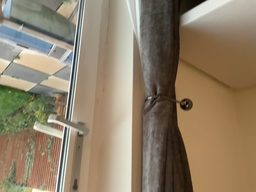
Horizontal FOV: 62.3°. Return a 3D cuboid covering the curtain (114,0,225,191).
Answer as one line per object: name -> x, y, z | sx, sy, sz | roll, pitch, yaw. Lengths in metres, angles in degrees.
curtain -> 0.140, 0.090, 0.690 | 0.170, 2.110, 0.320 | -17, 153, 42
